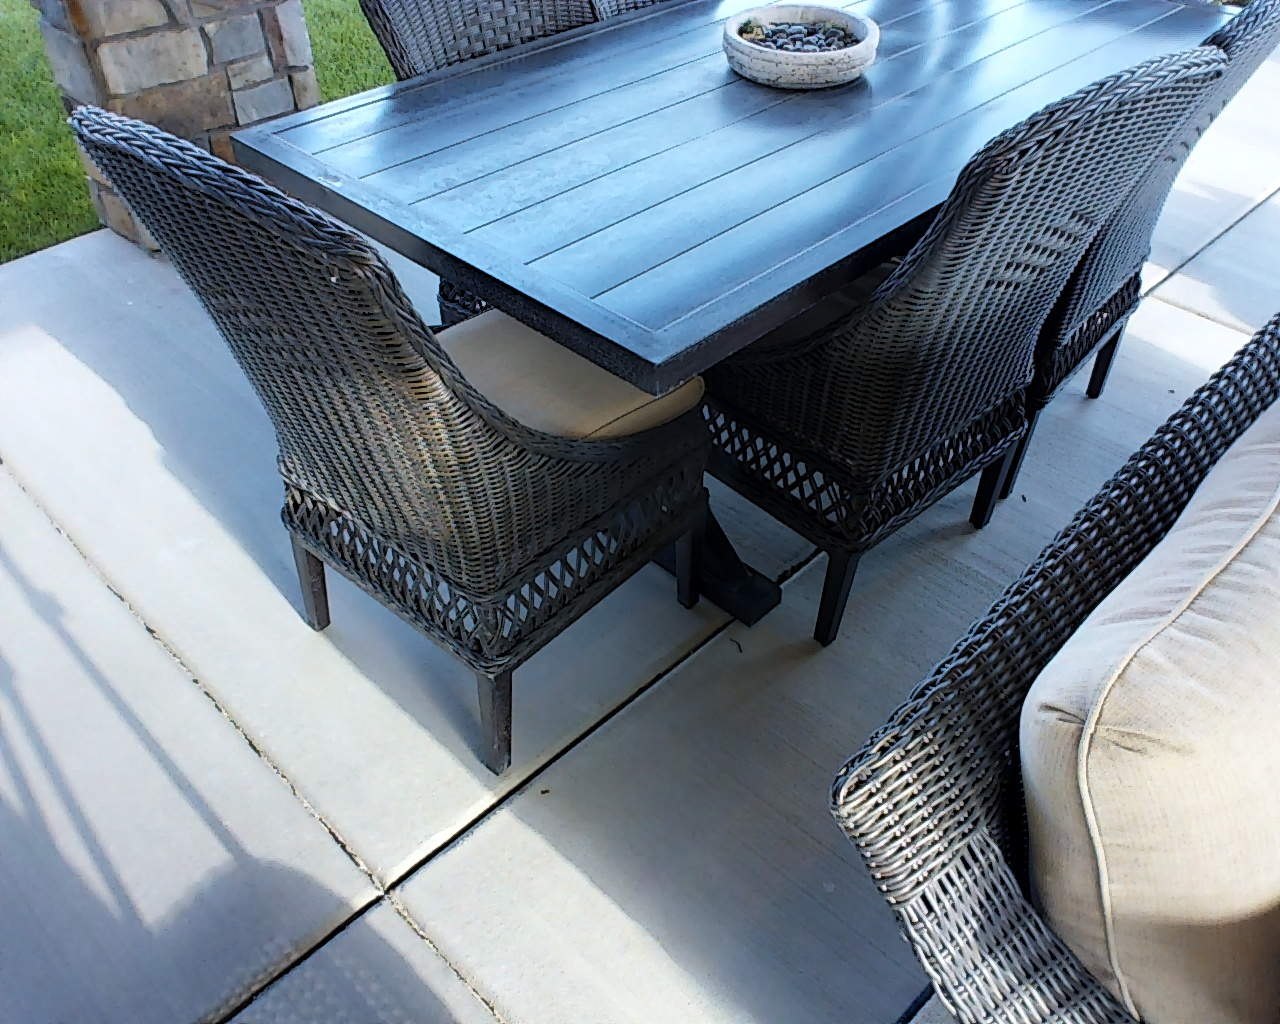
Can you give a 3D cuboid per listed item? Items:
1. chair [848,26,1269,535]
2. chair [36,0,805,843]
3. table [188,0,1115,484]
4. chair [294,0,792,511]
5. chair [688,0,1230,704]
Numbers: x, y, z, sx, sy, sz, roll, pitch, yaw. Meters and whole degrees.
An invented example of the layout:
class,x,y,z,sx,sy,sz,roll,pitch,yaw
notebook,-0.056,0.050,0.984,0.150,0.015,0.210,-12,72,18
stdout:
class,x,y,z,sx,sy,sz,roll,pitch,yaw
chair,0.790,-0.460,2.130,0.410,0.760,0.530,33,51,31
chair,-0.250,-0.170,1.610,0.560,0.970,0.720,33,51,31
table,0.030,-0.590,1.780,1.030,0.150,1.090,33,51,31
chair,-0.170,-0.650,2.220,0.580,0.930,0.700,33,51,31
chair,0.440,-0.270,1.730,0.450,0.970,0.530,33,51,31
